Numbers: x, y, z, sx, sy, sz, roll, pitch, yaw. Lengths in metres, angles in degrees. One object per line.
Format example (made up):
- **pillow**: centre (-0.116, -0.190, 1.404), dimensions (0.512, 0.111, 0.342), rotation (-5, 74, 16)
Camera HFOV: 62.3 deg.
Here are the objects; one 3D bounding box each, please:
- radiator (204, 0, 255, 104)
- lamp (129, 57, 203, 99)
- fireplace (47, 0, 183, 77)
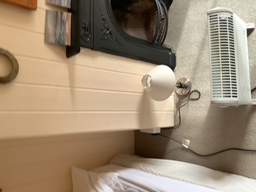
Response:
- **radiator**: centre (0.630, -0.230, 1.270), dimensions (0.130, 0.390, 0.550), rotation (-7, 83, 47)
- **lamp**: centre (0.290, -0.110, 1.550), dimensions (0.290, 0.480, 0.240), rotation (2, 89, 47)
- **fireplace**: centre (-0.030, -0.640, 1.530), dimensions (0.350, 0.960, 0.880), rotation (-4, 85, 47)
